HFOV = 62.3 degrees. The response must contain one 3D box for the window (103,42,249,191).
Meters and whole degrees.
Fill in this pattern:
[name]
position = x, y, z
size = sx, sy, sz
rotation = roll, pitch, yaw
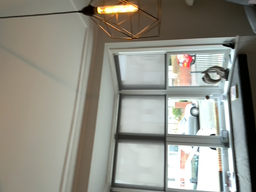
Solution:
[window]
position = 0.730, 0.690, 3.510
size = 0.940, 1.900, 2.970
rotation = 63, -150, -69
